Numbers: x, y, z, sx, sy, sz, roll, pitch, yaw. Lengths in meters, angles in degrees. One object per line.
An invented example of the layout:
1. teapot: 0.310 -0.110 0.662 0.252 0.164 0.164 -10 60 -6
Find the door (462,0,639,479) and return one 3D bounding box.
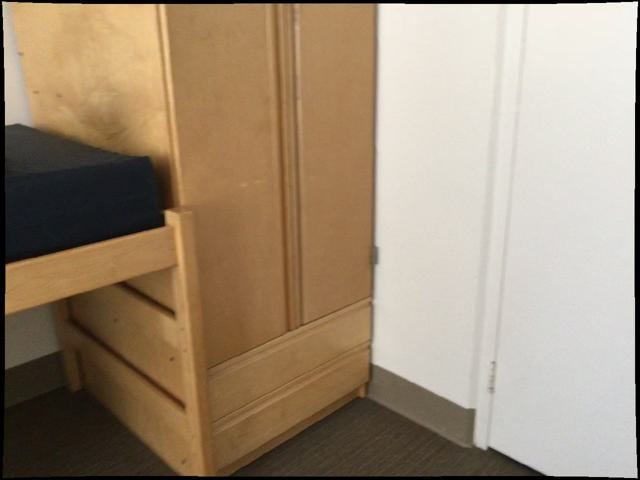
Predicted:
1. door: 0.809 -0.180 1.350 0.090 2.012 0.910 -19 26 -41
